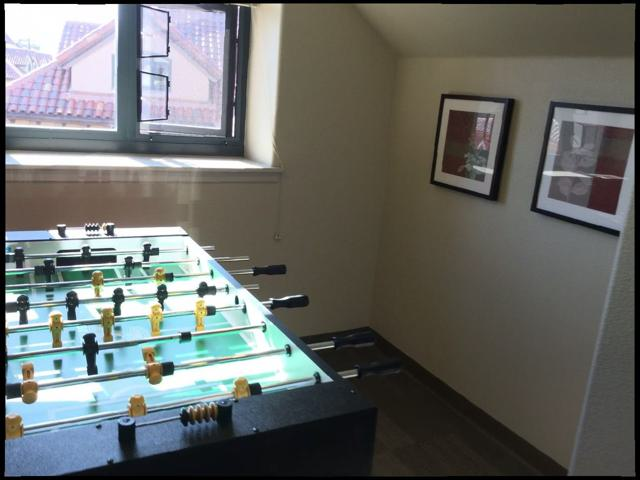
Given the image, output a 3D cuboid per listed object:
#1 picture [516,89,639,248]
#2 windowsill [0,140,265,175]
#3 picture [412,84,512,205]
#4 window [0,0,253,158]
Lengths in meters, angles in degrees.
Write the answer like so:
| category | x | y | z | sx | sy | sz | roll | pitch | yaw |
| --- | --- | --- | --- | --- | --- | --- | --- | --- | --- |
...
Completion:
| category | x | y | z | sx | sy | sz | roll | pitch | yaw |
| --- | --- | --- | --- | --- | --- | --- | --- | --- | --- |
| picture | 0.988 | -0.281 | 2.110 | 0.090 | 0.491 | 0.500 | -4 | 18 | -30 |
| windowsill | -1.237 | -0.371 | 2.560 | 1.977 | 0.080 | 0.450 | -4 | 18 | -31 |
| picture | 0.629 | -0.451 | 2.640 | 0.050 | 0.481 | 0.490 | -4 | 18 | -30 |
| window | -1.277 | -1.032 | 2.590 | 1.967 | 1.252 | 0.300 | -4 | 18 | -31 |
